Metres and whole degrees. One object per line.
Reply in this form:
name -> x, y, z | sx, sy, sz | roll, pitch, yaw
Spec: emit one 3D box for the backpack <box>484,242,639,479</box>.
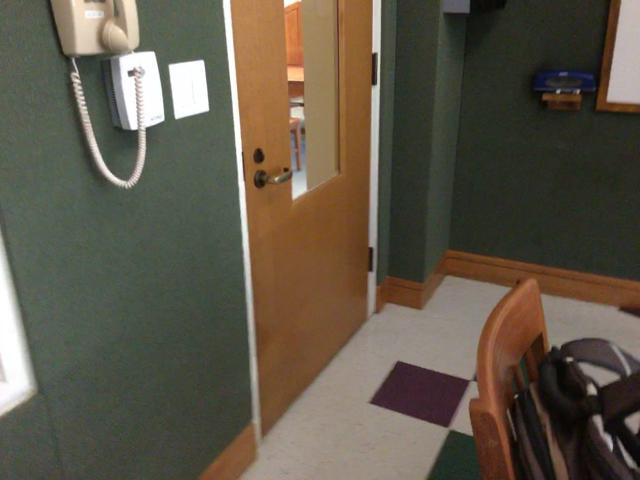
backpack -> 0.420, 0.330, 0.870 | 0.290, 0.510, 0.440 | 4, 22, 14
